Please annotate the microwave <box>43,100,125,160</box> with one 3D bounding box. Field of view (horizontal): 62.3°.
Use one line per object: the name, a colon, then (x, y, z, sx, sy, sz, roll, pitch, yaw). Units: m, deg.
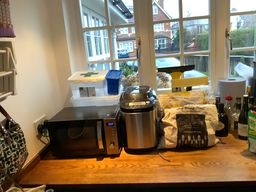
microwave: (-0.260, 0.210, 1.400, 0.450, 0.270, 0.280, -5, 14, 1)
